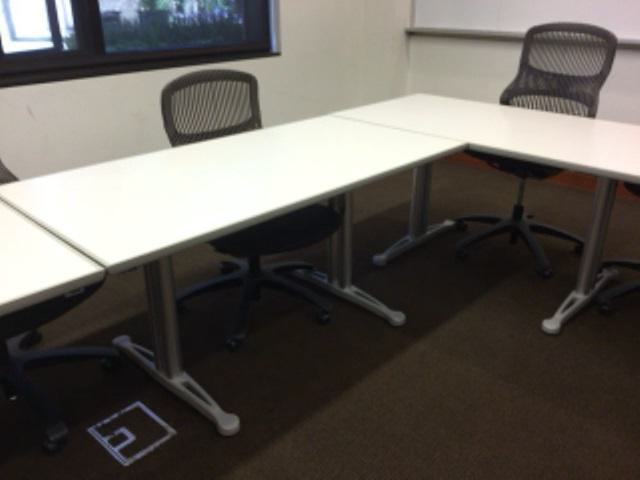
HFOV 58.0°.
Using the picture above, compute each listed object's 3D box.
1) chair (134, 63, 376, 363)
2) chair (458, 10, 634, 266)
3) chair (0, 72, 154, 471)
[{"bbox_3d":[-0.240,-0.170,2.290,0.630,0.960,0.630,-18,27,-39],"label":"chair"},{"bbox_3d":[1.030,-0.500,2.730,0.380,1.080,0.530,-18,27,-40],"label":"chair"},{"bbox_3d":[-1.080,0.040,1.810,0.740,1.020,0.660,15,25,34],"label":"chair"}]
